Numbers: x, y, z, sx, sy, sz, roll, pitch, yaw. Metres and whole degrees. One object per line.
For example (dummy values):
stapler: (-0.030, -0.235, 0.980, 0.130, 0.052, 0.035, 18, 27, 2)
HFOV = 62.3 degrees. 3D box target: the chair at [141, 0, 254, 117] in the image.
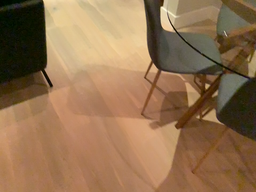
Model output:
chair: (0.370, -0.280, 1.500, 0.490, 0.820, 0.440, 1, 48, -1)

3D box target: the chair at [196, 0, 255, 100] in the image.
chair: (0.940, -0.500, 1.690, 0.410, 0.860, 0.530, 24, 52, 18)

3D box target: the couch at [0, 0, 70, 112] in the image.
couch: (-0.990, -0.430, 1.650, 0.740, 0.720, 0.760, -20, 52, -19)

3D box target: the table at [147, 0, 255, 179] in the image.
table: (0.830, -0.210, 1.500, 0.950, 0.770, 0.980, -20, 52, -19)
